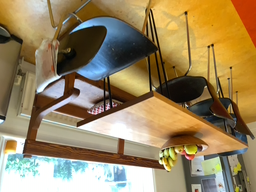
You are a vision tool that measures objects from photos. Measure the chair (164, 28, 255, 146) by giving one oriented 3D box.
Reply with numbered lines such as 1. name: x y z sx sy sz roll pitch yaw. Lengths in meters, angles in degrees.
1. chair: 0.690 -0.040 1.790 0.510 0.760 0.440 -24 148 34

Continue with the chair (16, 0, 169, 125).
1. chair: -0.170 -0.310 1.130 0.460 0.740 0.510 -24 148 34
